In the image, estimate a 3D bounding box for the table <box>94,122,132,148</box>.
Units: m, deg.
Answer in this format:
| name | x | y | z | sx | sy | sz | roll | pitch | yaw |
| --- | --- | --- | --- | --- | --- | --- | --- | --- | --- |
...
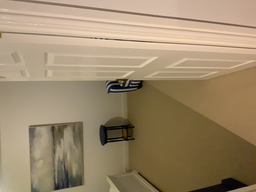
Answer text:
| name | x | y | z | sx | sy | sz | roll | pitch | yaw |
| --- | --- | --- | --- | --- | --- | --- | --- | --- | --- |
| table | -0.300 | 0.750 | 4.190 | 0.400 | 0.640 | 0.390 | 180 | 89 | -68 |
